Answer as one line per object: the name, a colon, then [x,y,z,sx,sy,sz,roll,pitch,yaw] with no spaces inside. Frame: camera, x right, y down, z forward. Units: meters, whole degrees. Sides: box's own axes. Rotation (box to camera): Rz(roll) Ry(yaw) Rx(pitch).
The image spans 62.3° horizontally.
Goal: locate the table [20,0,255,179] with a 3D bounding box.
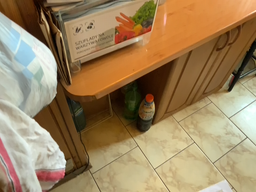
table: [0.380,-0.230,1.150,1.510,0.750,0.400,-26,61,-20]
